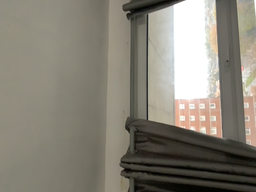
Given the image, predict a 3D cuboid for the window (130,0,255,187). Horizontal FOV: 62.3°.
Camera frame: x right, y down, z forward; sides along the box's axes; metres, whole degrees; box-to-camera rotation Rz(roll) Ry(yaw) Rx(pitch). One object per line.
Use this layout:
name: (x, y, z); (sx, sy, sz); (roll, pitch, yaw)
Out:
window: (0.820, -0.140, 1.250); (0.080, 1.660, 1.300); (20, -110, -69)
